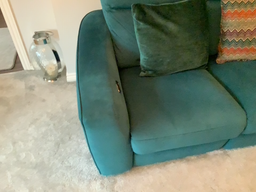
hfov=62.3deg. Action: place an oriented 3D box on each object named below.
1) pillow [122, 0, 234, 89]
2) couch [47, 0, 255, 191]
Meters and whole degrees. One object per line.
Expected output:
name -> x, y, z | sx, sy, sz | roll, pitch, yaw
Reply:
pillow -> 0.300, -0.340, 1.250 | 0.540, 0.360, 0.160 | -33, 44, 10
couch -> 1.220, -0.380, 1.500 | 3.180, 0.960, 1.070 | -8, 44, -11
